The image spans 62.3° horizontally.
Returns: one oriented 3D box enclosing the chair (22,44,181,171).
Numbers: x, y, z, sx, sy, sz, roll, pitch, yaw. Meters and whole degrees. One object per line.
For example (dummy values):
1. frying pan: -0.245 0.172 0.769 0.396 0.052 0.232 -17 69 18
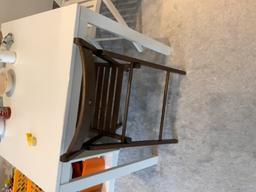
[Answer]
1. chair: -0.100 0.040 1.190 0.450 0.730 0.460 7 91 40
